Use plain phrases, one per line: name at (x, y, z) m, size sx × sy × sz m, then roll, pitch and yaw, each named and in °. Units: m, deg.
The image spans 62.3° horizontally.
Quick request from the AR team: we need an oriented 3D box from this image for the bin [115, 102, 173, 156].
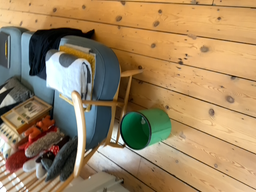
bin at (0.100, 0.190, 1.340) m, size 0.240 × 0.220 × 0.230 m, roll 19°, pitch 105°, yaw 37°
